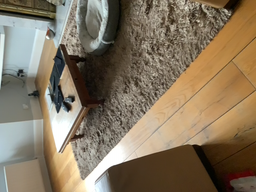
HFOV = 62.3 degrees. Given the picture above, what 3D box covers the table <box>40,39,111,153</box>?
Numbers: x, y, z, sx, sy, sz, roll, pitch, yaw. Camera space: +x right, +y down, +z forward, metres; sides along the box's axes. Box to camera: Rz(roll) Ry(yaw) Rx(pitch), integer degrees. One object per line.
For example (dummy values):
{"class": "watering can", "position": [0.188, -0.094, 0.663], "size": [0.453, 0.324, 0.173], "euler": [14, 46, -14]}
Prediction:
{"class": "table", "position": [-0.620, 0.020, 2.240], "size": [0.870, 0.300, 0.780], "euler": [-54, 52, 41]}
